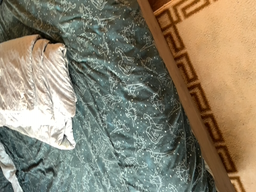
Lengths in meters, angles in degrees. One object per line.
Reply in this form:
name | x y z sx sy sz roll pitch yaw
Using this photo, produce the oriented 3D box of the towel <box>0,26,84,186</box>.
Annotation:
towel | -0.760 -0.020 1.330 1.160 0.130 0.770 11 109 33
